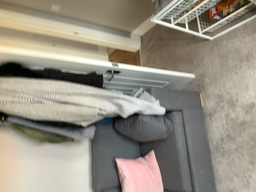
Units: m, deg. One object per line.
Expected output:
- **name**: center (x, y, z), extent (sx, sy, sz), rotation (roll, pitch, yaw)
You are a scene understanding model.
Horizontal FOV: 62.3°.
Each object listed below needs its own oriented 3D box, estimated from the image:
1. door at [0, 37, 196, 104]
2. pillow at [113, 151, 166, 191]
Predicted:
- **door**: center (-0.430, -0.120, 1.790), extent (0.810, 2.030, 0.110), rotation (-32, 62, 52)
- **pillow**: center (0.100, 0.760, 1.860), extent (0.260, 0.340, 0.480), rotation (-25, 51, 54)
